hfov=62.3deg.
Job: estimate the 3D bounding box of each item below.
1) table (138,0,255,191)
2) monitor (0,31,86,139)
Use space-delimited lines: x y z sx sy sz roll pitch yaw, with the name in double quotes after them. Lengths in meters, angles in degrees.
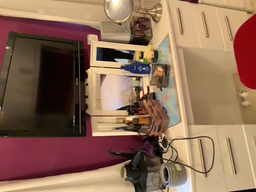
0.580 -0.010 1.570 0.510 0.790 1.270 132 137 -66 "table"
-0.550 -0.120 1.400 0.040 0.520 0.810 108 158 -56 "monitor"
